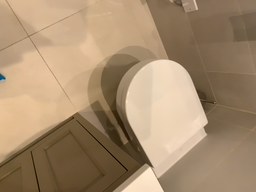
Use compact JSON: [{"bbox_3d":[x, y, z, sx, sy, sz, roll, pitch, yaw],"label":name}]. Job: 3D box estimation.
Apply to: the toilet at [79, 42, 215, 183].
[{"bbox_3d":[0.090,0.050,1.160,0.390,0.460,0.520,-35,113,-19],"label":"toilet"}]
